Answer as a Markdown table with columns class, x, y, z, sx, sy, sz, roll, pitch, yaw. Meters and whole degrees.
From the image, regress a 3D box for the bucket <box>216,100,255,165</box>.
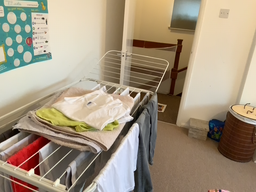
| class | x | y | z | sx | sy | sz | roll | pitch | yaw |
| --- | --- | --- | --- | --- | --- | --- | --- | --- | --- |
| bucket | 1.190 | 0.370 | 2.300 | 0.330 | 0.490 | 0.420 | 13 | 24 | 18 |
